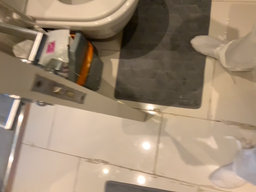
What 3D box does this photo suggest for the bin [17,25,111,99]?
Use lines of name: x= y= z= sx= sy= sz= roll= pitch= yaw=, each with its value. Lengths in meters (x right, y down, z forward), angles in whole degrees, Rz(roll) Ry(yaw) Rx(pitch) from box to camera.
bin: x=-0.260 y=-0.130 z=0.990 sx=0.220 sy=0.400 sz=0.220 roll=4 pitch=82 yaw=15
